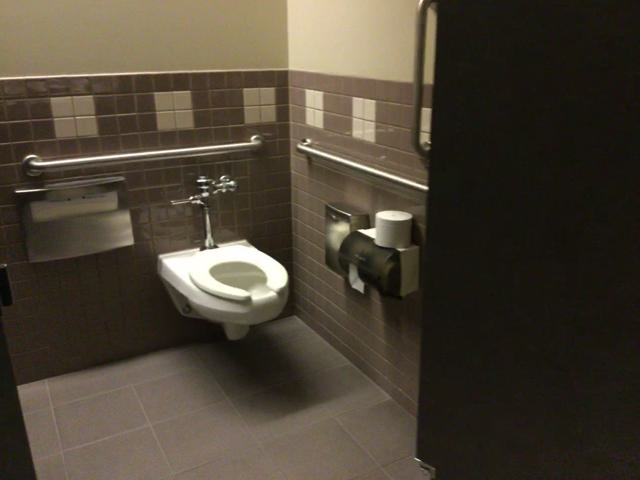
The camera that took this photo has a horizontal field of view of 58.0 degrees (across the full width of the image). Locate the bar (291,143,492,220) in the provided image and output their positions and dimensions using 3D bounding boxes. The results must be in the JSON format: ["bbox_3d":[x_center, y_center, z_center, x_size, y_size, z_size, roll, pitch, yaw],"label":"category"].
[{"bbox_3d":[0.180,-0.240,2.070,0.090,0.080,1.080,-6,18,-29],"label":"bar"}]

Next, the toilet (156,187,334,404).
[{"bbox_3d":[-0.330,0.170,2.340,0.480,0.630,0.650,-6,18,-29],"label":"toilet"}]

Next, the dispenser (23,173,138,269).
[{"bbox_3d":[-0.920,-0.080,2.250,0.390,0.340,0.060,-6,18,-29],"label":"dispenser"}]

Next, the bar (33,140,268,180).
[{"bbox_3d":[-0.640,-0.330,2.320,0.910,0.120,0.080,-6,18,-29],"label":"bar"}]
